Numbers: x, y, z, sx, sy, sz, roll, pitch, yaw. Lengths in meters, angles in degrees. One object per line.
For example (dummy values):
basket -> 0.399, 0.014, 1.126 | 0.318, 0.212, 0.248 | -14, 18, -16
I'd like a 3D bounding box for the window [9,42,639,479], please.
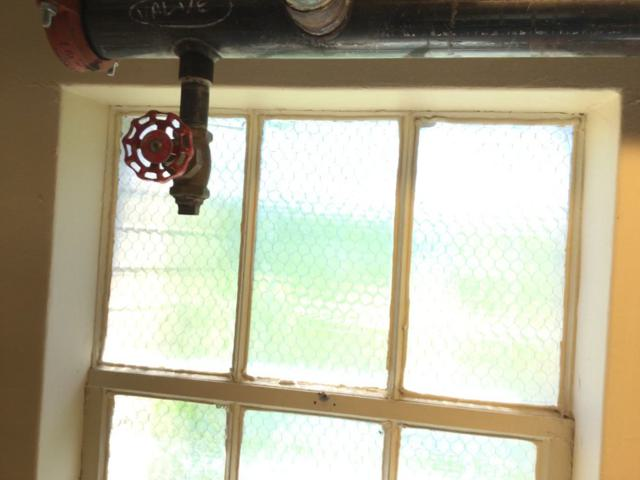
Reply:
window -> -0.030, 0.700, 0.870 | 0.850, 1.920, 0.230 | 4, -1, 9
